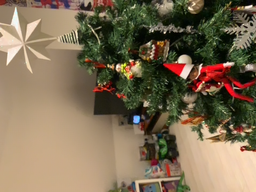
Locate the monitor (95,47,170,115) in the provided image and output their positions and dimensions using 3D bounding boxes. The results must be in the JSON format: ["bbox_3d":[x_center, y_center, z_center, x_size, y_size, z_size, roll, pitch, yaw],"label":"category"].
[{"bbox_3d":[-0.020,-0.140,3.260,1.470,0.880,0.100,106,160,-53],"label":"monitor"}]
